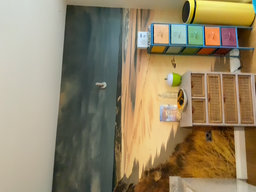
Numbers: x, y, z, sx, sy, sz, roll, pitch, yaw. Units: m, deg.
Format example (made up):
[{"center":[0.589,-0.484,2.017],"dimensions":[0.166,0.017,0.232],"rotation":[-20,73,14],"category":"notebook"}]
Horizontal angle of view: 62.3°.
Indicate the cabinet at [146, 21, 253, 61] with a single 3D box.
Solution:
[{"center":[0.900,-0.710,2.790],"dimensions":[0.340,1.290,0.320],"rotation":[113,159,-79],"category":"cabinet"}]
